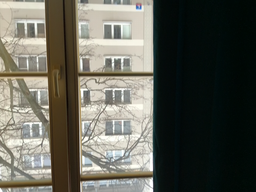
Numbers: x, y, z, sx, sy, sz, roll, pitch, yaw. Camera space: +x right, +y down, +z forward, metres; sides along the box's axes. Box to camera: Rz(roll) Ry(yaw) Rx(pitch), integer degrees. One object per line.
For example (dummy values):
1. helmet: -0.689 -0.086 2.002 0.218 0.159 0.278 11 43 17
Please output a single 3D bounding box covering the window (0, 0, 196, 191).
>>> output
1. window: -0.300 0.190 1.030 1.200 1.840 0.180 -1 -174 -8
